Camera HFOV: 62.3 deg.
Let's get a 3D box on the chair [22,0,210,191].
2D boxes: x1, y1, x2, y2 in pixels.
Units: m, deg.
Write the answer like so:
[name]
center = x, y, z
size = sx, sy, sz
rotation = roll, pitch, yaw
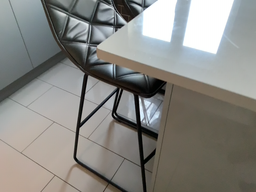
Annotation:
[chair]
center = -0.020, 0.000, 1.010
size = 0.490, 1.030, 0.400
rotation = 21, 47, 21
